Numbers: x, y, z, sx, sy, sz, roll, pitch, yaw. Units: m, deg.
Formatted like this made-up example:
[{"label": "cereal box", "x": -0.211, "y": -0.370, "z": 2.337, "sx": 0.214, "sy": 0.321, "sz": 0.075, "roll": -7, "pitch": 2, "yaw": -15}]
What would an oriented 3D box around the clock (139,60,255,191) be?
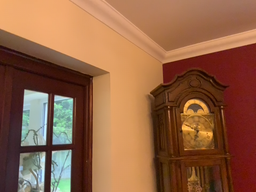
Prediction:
[{"label": "clock", "x": 0.520, "y": 0.890, "z": 1.710, "sx": 0.560, "sy": 2.150, "sz": 0.780, "roll": 3, "pitch": -11, "yaw": -18}]
